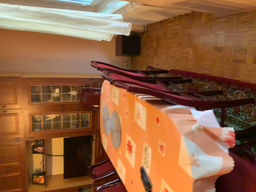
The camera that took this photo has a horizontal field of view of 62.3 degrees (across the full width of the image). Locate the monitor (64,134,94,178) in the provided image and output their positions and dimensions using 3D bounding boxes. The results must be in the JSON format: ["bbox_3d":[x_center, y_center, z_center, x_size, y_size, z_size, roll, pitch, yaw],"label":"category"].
[{"bbox_3d":[-0.810,0.990,3.500,0.050,0.460,0.730,-144,56,-65],"label":"monitor"}]

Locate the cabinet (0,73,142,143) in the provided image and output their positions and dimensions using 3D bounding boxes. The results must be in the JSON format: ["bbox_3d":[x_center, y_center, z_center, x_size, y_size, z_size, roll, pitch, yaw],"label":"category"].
[{"bbox_3d":[-0.960,0.140,3.320,0.480,2.290,0.910,-153,64,-67],"label":"cabinet"}]
